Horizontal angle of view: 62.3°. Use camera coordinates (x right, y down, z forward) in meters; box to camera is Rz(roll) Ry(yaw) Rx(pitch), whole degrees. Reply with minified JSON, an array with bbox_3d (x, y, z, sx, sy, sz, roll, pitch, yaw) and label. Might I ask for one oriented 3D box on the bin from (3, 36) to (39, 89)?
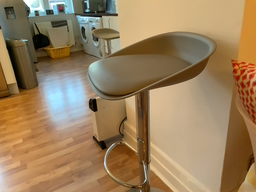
[{"bbox_3d":[-1.580,-0.510,3.140,0.310,0.650,0.440,-16,26,-24],"label":"bin"}]
